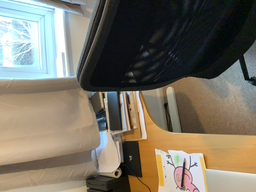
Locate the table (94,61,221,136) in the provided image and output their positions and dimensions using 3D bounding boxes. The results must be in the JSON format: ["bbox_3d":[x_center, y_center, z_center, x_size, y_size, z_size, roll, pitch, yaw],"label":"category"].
[{"bbox_3d":[0.210,0.050,1.630,0.570,0.730,0.410,-18,76,54],"label":"table"}]

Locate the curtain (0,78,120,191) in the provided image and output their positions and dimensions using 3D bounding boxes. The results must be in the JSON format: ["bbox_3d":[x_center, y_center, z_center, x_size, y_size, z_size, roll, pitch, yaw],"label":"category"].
[{"bbox_3d":[-0.750,0.230,1.180,0.140,1.490,0.650,-21,74,53],"label":"curtain"}]
